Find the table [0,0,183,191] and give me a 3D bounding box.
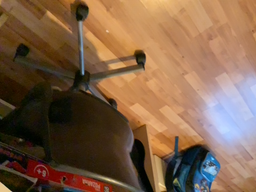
[{"bbox_3d":[-0.390,0.310,1.050,0.820,0.730,1.100,-32,129,24],"label":"table"}]
